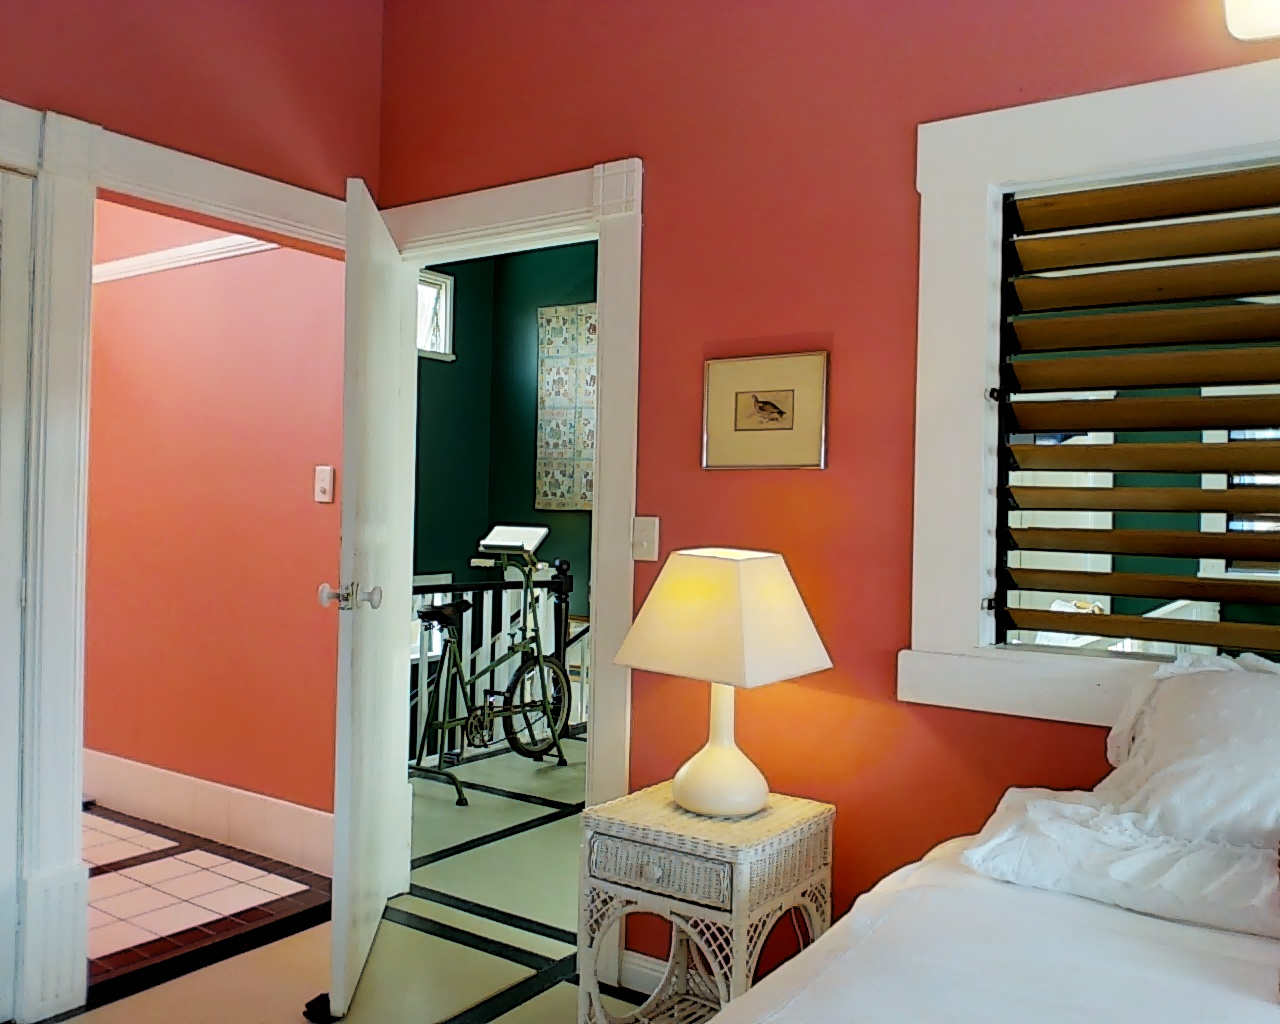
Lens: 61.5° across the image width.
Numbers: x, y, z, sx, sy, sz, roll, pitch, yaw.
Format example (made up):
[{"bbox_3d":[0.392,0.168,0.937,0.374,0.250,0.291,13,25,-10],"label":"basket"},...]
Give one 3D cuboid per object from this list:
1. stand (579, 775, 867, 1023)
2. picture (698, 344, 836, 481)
[{"bbox_3d":[0.190,0.960,2.380,0.470,0.600,0.450,0,0,34],"label":"stand"},{"bbox_3d":[0.310,-0.240,2.670,0.370,0.320,0.020,0,0,34],"label":"picture"}]
